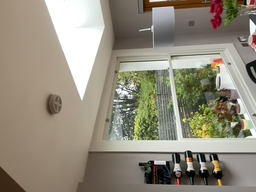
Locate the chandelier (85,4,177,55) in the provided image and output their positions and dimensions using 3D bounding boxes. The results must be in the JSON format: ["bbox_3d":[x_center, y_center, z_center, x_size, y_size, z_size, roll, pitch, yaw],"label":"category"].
[{"bbox_3d":[0.040,-0.660,2.150,0.360,0.840,0.270,81,-170,-47],"label":"chandelier"}]

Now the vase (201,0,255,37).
[{"bbox_3d":[1.070,-0.840,2.070,0.360,0.570,0.350,-84,-9,-47],"label":"vase"}]

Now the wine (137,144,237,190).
[{"bbox_3d":[0.480,0.610,1.880,0.400,0.770,0.110,-80,-12,-59],"label":"wine"}]
